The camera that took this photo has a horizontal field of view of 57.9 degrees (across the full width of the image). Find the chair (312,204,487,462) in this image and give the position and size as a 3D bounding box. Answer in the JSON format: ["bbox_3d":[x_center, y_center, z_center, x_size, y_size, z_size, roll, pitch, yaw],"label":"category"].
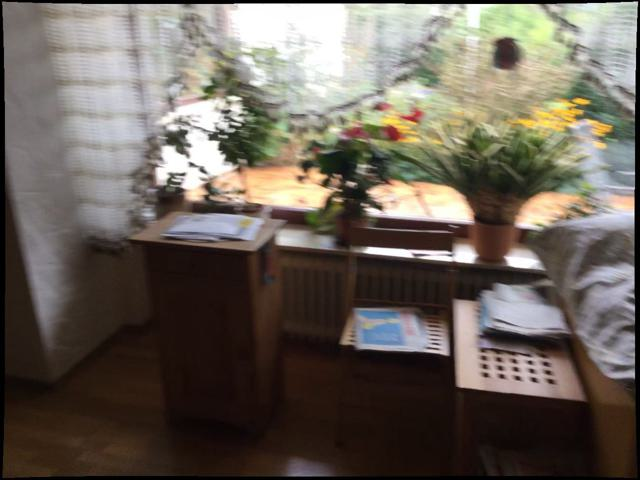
[{"bbox_3d":[0.330,0.320,2.310,0.569,0.721,0.660,6,22,13],"label":"chair"}]
